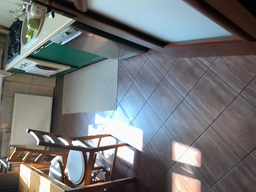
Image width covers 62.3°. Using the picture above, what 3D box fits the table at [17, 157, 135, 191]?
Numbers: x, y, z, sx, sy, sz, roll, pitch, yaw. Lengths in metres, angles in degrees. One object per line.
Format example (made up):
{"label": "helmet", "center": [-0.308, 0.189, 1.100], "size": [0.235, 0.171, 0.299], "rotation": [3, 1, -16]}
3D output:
{"label": "table", "center": [-0.600, 1.140, 2.200], "size": [1.160, 0.730, 0.770], "rotation": [-7, 79, 48]}
